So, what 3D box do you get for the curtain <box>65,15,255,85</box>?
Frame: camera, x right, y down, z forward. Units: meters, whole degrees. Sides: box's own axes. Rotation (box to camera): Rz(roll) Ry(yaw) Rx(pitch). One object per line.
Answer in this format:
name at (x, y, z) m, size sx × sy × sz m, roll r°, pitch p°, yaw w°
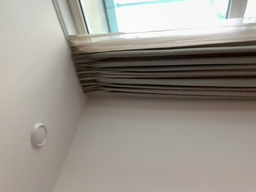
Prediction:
curtain at (0.740, -0.380, 1.780) m, size 0.240 × 2.500 × 0.490 m, roll -71°, pitch -21°, yaw -60°
